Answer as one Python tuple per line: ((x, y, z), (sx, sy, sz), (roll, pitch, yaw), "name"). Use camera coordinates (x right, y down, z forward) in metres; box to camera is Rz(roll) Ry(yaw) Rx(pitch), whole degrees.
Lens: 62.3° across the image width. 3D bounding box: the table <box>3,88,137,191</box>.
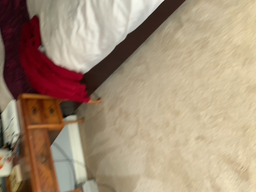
((-0.550, 0.620, 1.840), (0.700, 0.740, 1.160), (-48, 54, 37), "table")
